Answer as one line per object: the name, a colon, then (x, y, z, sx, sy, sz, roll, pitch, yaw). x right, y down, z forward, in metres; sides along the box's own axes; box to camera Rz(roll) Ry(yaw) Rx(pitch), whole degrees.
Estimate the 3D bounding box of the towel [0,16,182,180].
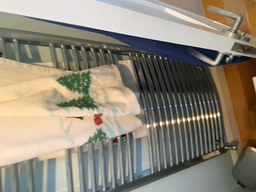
towel: (-0.160, 0.010, 0.680, 0.260, 0.650, 0.340, -16, 79, 50)
